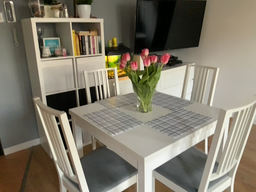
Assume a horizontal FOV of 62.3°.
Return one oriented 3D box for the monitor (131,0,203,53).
[{"bbox_3d":[0.570,-0.970,2.970,1.140,0.630,0.110,-11,25,-29],"label":"monitor"}]
